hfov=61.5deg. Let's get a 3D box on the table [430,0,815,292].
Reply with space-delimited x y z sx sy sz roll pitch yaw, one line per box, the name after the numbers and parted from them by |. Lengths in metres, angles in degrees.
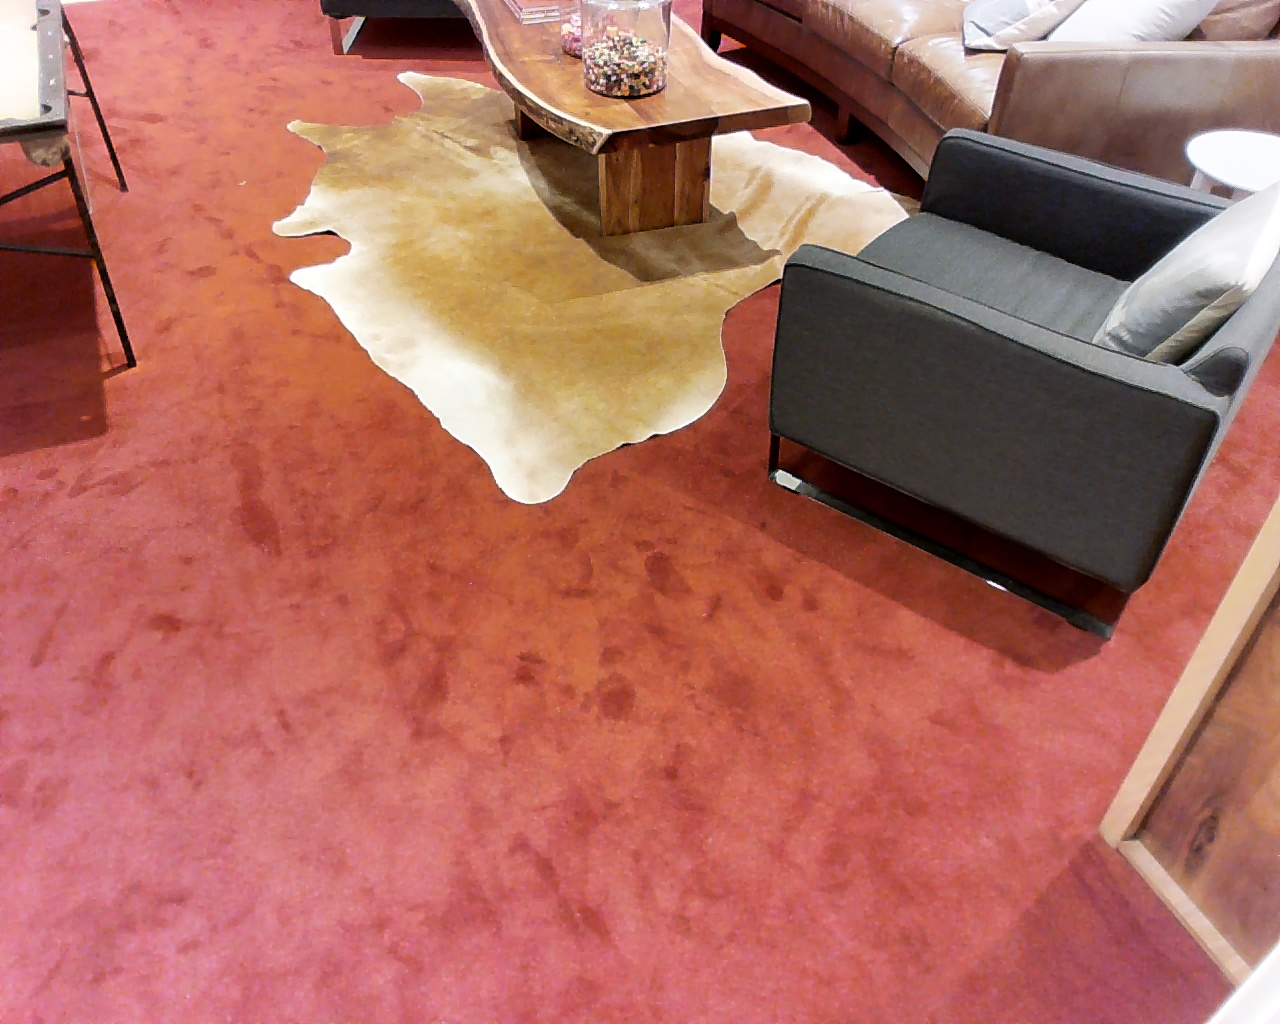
-0.120 -1.280 3.390 0.730 0.450 1.310 -15 45 -17 | table
